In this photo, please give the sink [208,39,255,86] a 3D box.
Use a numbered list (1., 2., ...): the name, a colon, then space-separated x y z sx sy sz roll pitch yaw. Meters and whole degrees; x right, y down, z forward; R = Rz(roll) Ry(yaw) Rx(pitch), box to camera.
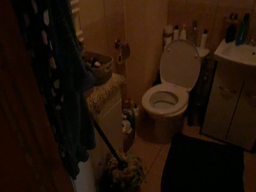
1. sink: 0.910 -0.240 1.550 0.500 0.140 0.380 20 41 27
